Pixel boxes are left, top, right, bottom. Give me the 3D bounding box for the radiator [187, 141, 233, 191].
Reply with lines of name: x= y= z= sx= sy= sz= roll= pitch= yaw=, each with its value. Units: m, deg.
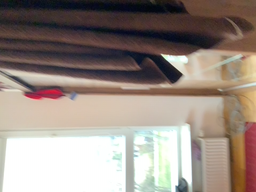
radiator: x=0.890 y=0.940 z=2.290 sx=0.140 sy=0.430 sz=0.870 roll=150 pitch=121 yaw=-76
